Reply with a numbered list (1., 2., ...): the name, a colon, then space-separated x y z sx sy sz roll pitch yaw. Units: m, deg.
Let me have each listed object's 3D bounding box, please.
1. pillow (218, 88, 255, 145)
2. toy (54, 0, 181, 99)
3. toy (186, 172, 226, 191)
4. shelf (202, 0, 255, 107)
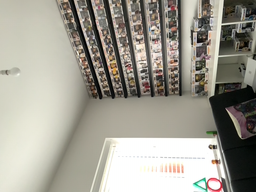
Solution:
1. pillow: 1.070 0.160 1.870 0.140 0.410 0.450 53 -152 -28
2. toy: -0.050 -0.690 2.760 0.160 1.430 1.690 -78 -18 -51
3. toy: 0.730 0.920 1.980 0.370 0.330 0.120 -79 -18 -49
4. shelf: 1.310 -0.570 2.390 0.410 0.770 1.470 -78 -18 -51
